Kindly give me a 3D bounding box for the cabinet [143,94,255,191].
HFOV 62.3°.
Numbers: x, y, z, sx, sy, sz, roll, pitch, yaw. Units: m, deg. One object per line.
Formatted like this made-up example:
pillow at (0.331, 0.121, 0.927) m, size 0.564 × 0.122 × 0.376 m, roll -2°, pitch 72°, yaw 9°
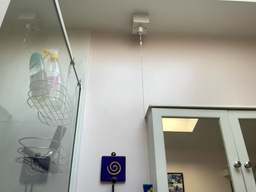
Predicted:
cabinet at (0.450, 0.270, 0.890) m, size 0.740 × 0.540 × 0.130 m, roll 2°, pitch -28°, yaw -5°
